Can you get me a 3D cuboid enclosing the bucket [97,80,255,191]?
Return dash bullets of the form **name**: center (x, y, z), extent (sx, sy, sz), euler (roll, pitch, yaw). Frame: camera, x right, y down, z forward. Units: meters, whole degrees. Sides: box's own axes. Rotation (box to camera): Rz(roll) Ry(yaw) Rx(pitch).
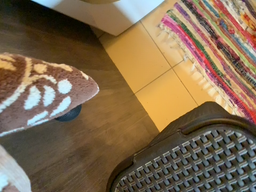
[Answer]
- **bucket**: center (0.280, 0.240, 0.610), extent (0.270, 0.610, 0.490), euler (-36, 83, 19)
